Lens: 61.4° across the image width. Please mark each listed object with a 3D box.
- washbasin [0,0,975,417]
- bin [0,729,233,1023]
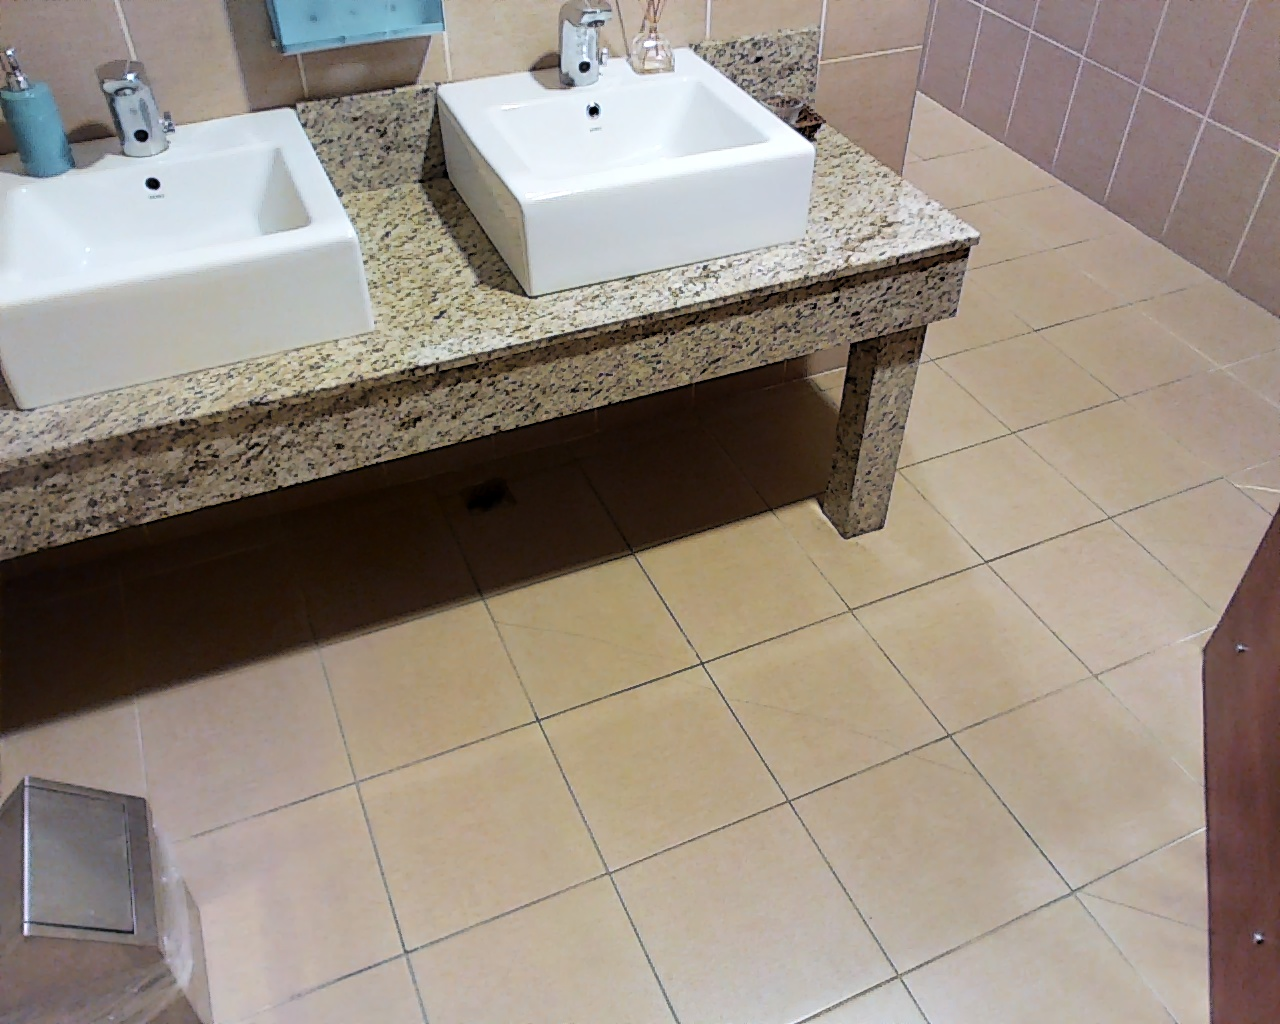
[{"bbox_3d":[-0.290,-0.570,1.810,1.640,0.200,0.510,-17,46,-17],"label":"washbasin"},{"bbox_3d":[-0.780,0.570,1.460,0.310,0.410,0.270,-17,46,-17],"label":"bin"}]
